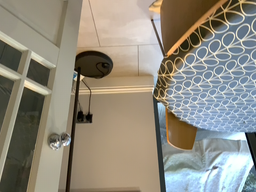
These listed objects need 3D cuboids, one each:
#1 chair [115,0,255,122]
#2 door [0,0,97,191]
[{"bbox_3d":[0.290,-0.430,0.810,0.530,0.870,0.420,22,143,-37],"label":"chair"},{"bbox_3d":[-0.500,0.110,0.580,0.200,2.090,0.920,-18,147,27],"label":"door"}]
